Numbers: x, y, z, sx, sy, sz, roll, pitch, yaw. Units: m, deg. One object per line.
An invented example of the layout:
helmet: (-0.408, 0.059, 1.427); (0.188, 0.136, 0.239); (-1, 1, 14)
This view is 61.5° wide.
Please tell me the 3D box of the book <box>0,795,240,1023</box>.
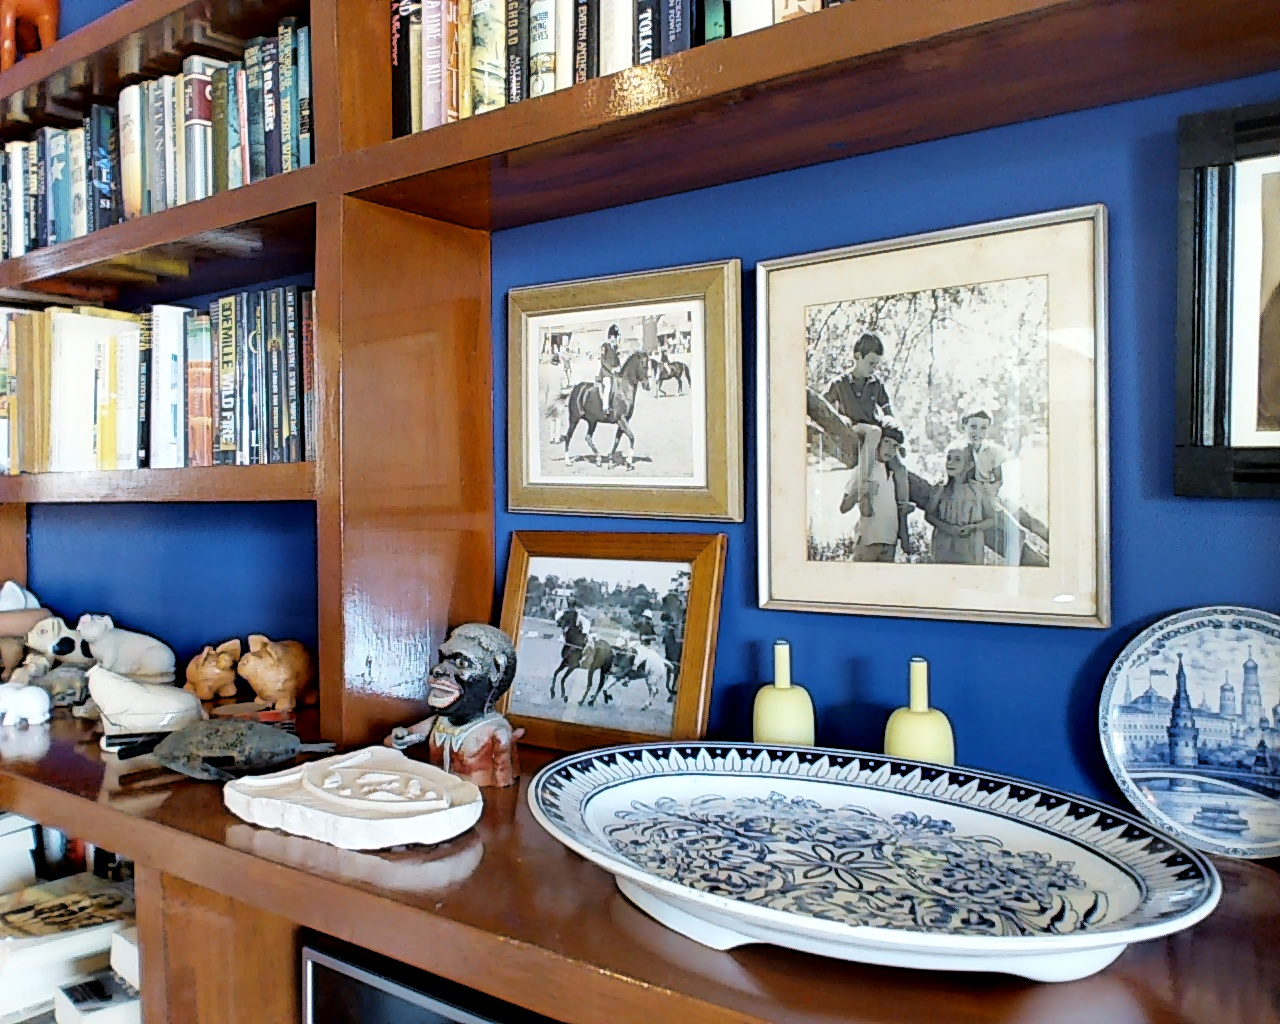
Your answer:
book: (-0.800, 0.550, 1.410); (0.500, 0.210, 0.280); (1, 2, 36)

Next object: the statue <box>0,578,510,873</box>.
statue: (-0.860, 0.230, 1.590); (1.310, 0.160, 0.560); (1, 2, 38)

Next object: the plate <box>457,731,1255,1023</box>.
plate: (0.150, 0.270, 0.810); (0.520, 0.090, 0.280); (1, 2, 35)

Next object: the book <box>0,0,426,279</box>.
book: (-0.830, -0.530, 1.670); (1.230, 0.210, 0.140); (1, 2, 33)
